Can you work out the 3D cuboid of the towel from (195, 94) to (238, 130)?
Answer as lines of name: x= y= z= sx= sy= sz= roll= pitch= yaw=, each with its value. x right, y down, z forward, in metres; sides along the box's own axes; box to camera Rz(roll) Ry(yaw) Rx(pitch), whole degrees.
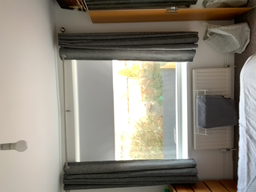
towel: x=1.210 y=0.210 z=2.910 sx=0.130 sy=0.540 sz=0.470 roll=-152 pitch=61 yaw=-86
